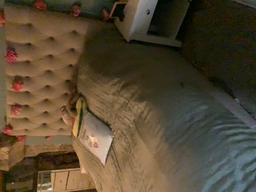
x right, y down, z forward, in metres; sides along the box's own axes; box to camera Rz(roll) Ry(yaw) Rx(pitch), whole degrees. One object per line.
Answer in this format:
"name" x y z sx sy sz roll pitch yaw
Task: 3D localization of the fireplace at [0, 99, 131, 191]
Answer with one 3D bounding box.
"fireplace" -1.230 1.240 3.480 1.020 1.780 2.130 -117 39 -47
